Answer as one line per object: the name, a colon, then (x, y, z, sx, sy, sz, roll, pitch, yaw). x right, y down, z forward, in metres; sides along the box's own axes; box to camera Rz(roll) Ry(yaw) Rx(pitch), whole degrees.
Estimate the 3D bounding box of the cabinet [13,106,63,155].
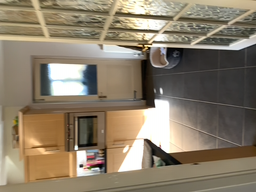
cabinet: (-1.390, 0.500, 3.370, 0.610, 0.650, 0.620, -167, 77, -74)
